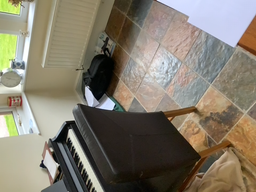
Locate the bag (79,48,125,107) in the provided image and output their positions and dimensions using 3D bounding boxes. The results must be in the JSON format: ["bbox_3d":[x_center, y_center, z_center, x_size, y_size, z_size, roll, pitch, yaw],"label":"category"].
[{"bbox_3d":[-0.330,-0.210,2.550,0.320,0.230,0.630,54,131,32],"label":"bag"}]
